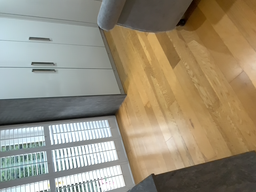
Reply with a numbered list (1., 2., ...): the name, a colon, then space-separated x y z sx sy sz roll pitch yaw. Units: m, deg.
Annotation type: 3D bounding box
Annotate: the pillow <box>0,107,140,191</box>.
1. pillow: -0.930 0.990 2.810 0.120 2.090 1.750 -57 44 48
